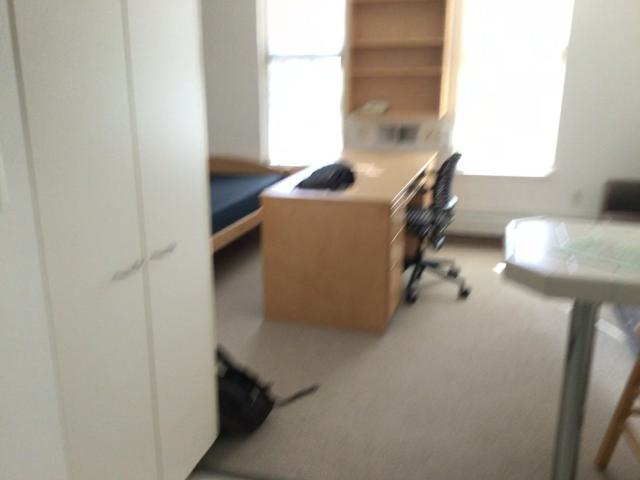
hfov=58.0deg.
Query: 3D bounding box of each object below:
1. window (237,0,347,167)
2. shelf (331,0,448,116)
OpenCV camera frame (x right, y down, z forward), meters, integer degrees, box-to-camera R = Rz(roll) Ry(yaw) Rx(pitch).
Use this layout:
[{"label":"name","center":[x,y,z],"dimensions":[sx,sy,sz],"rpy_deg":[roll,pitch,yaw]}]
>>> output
[{"label":"window","center":[-0.220,-1.530,4.710],"dimensions":[0.820,1.820,0.250],"rpy_deg":[4,17,18]},{"label":"shelf","center":[0.520,-1.520,4.340],"dimensions":[0.820,1.130,0.270],"rpy_deg":[4,17,18]}]
